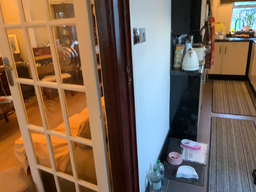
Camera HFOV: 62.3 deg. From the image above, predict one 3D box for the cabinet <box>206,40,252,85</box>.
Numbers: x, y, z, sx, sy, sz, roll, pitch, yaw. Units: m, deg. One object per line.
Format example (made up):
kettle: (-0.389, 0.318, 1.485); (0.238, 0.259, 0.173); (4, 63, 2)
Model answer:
cabinet: (2.320, -0.810, 4.970); (0.840, 0.900, 0.590); (5, 23, 21)

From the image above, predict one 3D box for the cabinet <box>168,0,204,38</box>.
cabinet: (0.700, -1.140, 2.470); (0.310, 0.810, 0.770); (5, 23, 21)
